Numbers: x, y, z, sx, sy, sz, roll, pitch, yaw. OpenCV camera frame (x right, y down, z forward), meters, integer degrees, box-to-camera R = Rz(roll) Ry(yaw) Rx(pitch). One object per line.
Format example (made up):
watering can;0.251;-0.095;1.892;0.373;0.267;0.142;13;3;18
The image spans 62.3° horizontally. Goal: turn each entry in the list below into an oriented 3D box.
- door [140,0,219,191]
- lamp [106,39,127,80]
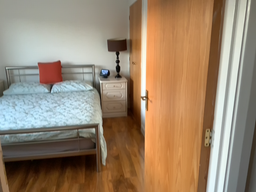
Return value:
door;0.210;0.120;1.250;0.050;1.990;0.760;-4;15;-14
lamp;-0.220;-0.700;4.000;0.350;0.720;0.340;-3;15;-8
